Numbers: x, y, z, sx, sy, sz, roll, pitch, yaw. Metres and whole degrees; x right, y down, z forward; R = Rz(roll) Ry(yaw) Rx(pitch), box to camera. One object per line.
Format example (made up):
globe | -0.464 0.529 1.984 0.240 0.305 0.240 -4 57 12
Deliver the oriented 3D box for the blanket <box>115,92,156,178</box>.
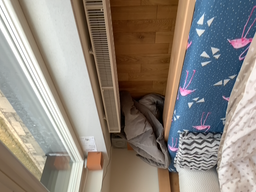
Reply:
blanket | 0.080 0.380 1.960 0.300 0.510 0.650 -3 138 4
